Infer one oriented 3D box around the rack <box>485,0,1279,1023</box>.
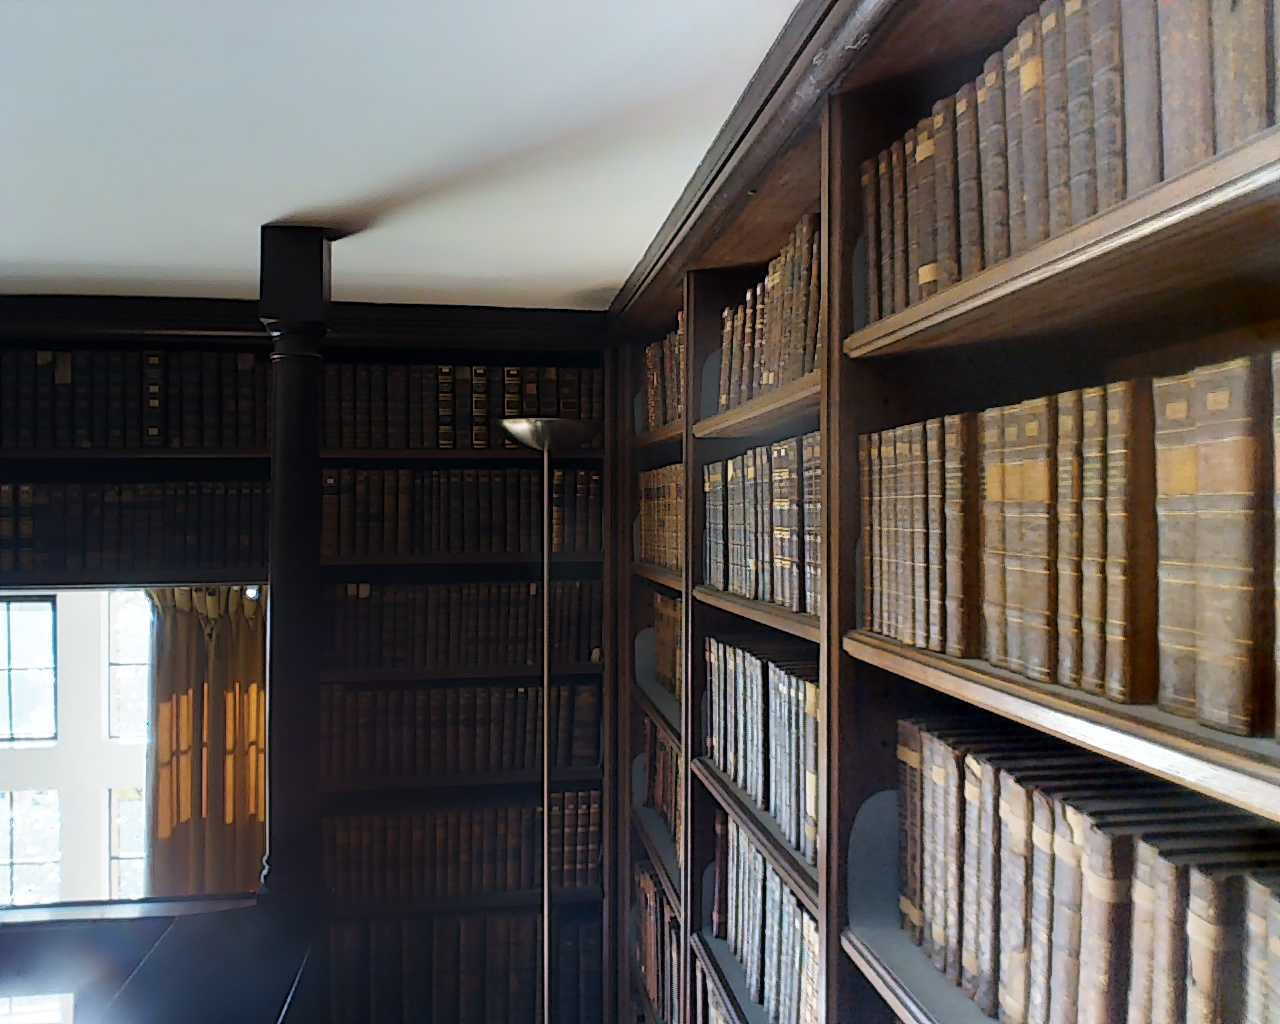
[{"bbox_3d":[0.130,0.530,1.130,0.560,2.091,3.400,0,0,-9],"label":"rack"}]
